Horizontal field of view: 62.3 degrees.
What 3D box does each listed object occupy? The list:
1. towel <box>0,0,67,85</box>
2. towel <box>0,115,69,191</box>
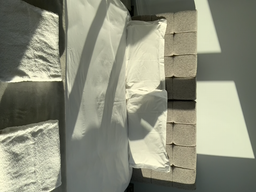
[{"bbox_3d":[-0.420,-0.230,0.930,0.370,0.090,0.360,-9,99,-70],"label":"towel"},{"bbox_3d":[-0.420,0.280,0.930,0.410,0.090,0.340,-9,99,-70],"label":"towel"}]
